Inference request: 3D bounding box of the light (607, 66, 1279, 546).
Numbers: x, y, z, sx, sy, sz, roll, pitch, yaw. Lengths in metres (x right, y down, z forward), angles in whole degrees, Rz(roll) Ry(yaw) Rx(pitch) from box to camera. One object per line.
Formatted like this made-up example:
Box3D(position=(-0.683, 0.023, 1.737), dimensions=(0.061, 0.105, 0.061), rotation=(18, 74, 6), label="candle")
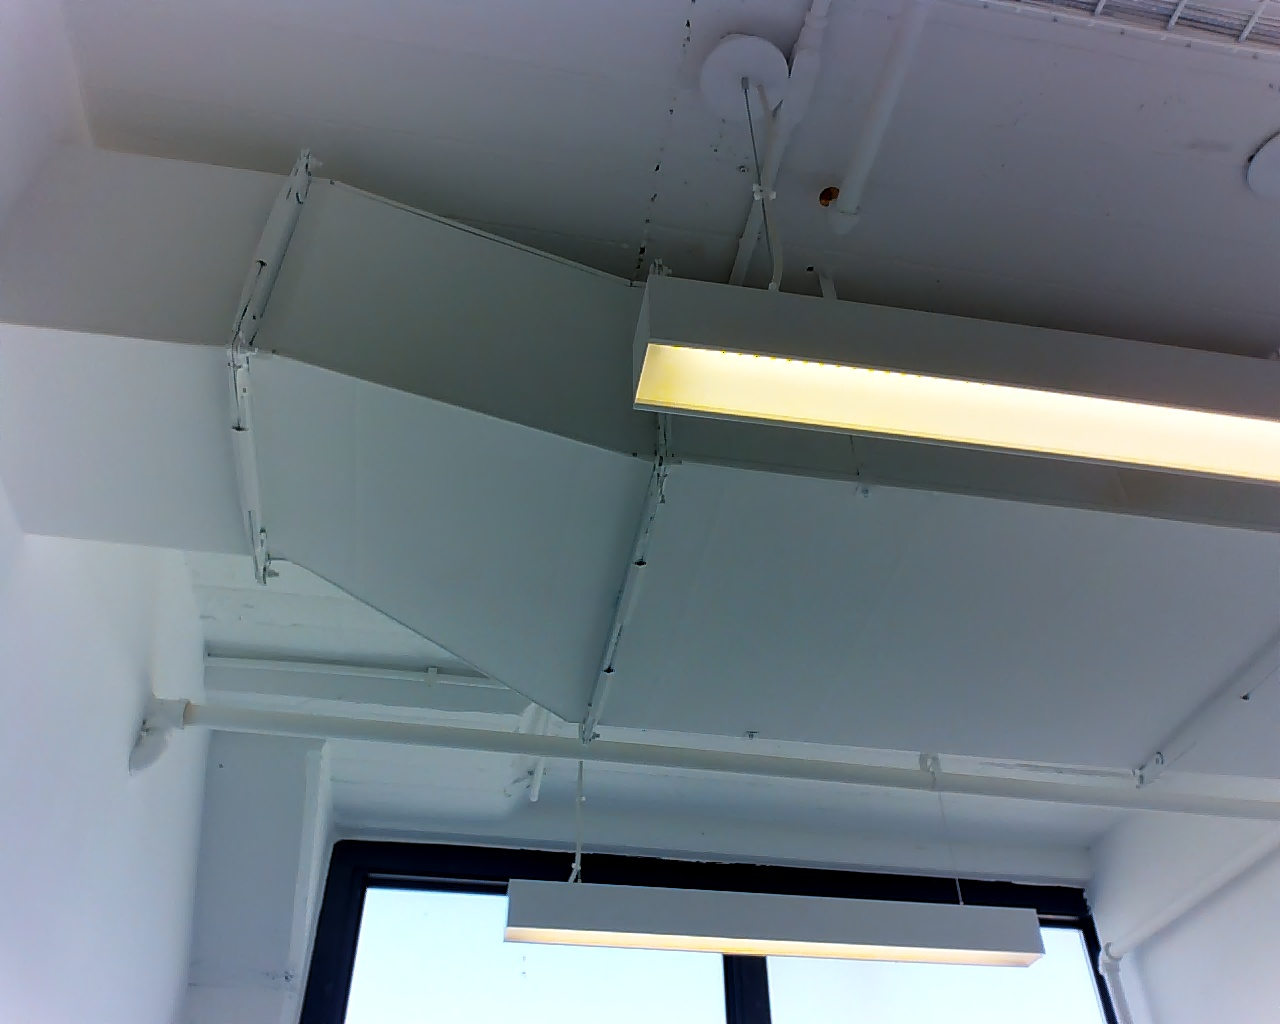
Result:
Box3D(position=(0.600, -0.240, 1.360), dimensions=(1.249, 0.190, 0.520), rotation=(8, 47, -7), label="light")
